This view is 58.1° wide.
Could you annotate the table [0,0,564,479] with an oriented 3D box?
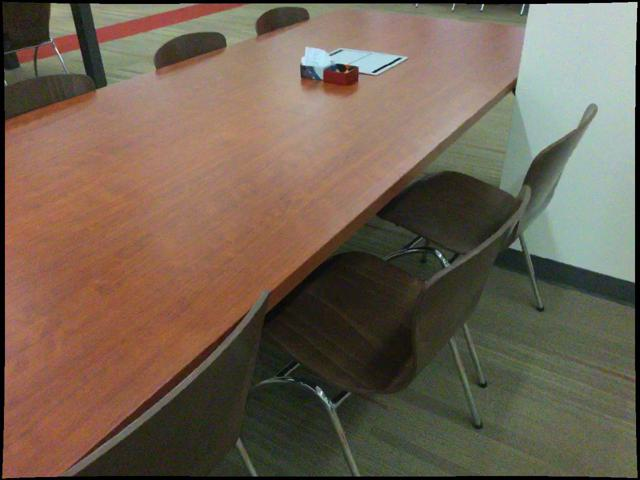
[{"bbox_3d":[-0.229,-0.130,2.040,1.358,0.852,3.110,17,37,25],"label":"table"}]
